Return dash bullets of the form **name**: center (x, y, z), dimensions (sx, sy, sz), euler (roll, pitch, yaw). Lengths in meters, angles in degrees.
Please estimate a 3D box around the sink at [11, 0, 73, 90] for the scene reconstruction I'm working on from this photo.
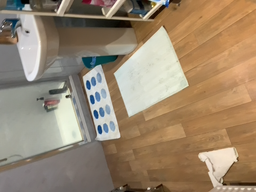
- **sink**: center (-0.580, -0.340, 1.360), dimensions (0.560, 0.170, 0.420), euler (-31, 74, 52)

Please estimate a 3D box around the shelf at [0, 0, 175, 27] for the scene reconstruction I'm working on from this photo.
- **shelf**: center (-0.180, -0.610, 1.130), dimensions (0.400, 0.980, 0.250), euler (-32, 74, 52)
